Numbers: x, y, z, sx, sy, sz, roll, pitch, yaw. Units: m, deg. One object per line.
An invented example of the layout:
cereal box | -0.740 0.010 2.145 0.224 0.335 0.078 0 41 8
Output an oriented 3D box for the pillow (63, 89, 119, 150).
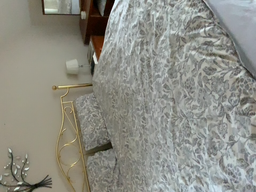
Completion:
pillow | -0.460 0.270 2.580 0.700 0.320 0.110 51 148 13
